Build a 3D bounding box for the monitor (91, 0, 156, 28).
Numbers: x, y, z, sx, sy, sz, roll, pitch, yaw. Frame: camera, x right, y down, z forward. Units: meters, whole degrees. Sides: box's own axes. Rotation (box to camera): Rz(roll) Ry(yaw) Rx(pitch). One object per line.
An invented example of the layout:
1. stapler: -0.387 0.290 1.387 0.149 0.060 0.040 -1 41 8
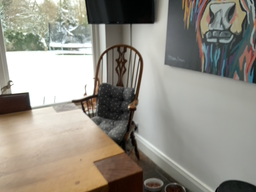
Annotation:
1. monitor: -0.070 -0.870 1.980 0.660 0.370 0.040 4 27 33
